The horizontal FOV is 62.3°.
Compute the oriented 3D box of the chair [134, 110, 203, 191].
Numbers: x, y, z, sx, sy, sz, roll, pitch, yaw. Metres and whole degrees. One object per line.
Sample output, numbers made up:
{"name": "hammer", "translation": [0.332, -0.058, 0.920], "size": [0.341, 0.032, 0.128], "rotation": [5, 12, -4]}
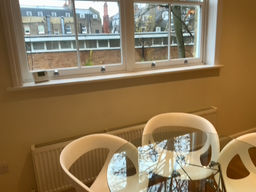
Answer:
{"name": "chair", "translation": [0.350, 0.580, 1.920], "size": [0.500, 0.780, 0.530], "rotation": [0, 14, 9]}

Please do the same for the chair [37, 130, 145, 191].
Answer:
{"name": "chair", "translation": [-0.180, 0.720, 1.480], "size": [0.530, 0.780, 0.550], "rotation": [1, 14, 11]}
